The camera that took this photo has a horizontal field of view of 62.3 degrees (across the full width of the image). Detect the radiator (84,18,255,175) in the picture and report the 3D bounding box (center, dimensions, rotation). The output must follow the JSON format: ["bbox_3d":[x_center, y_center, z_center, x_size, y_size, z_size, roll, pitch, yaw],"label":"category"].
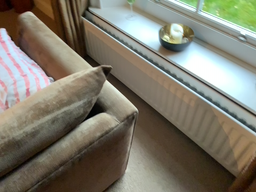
[{"bbox_3d":[0.150,-0.090,1.500,0.090,0.360,1.450,-33,56,-23],"label":"radiator"}]
